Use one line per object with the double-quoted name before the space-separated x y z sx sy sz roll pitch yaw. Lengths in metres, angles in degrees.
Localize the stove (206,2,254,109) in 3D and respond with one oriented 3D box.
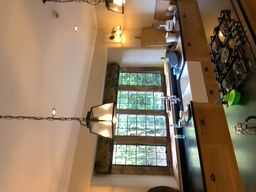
"stove" 0.810 -0.340 1.790 0.510 0.020 0.750 91 -179 -56
